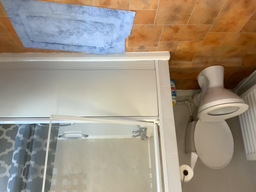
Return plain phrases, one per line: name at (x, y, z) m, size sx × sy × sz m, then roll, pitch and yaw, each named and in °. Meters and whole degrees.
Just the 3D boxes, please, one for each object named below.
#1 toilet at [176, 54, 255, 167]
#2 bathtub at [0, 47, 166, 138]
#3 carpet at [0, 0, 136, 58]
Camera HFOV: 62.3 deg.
toilet at (0.810, 0.170, 1.930) m, size 0.480 × 0.860 × 0.650 m, roll 1°, pitch 159°, yaw -4°
bathtub at (-0.510, 0.020, 1.880) m, size 1.510 × 0.570 × 0.710 m, roll 0°, pitch 159°, yaw -3°
carpet at (-0.380, -0.440, 1.480) m, size 0.790 × 0.050 × 0.440 m, roll 4°, pitch 158°, yaw -11°
